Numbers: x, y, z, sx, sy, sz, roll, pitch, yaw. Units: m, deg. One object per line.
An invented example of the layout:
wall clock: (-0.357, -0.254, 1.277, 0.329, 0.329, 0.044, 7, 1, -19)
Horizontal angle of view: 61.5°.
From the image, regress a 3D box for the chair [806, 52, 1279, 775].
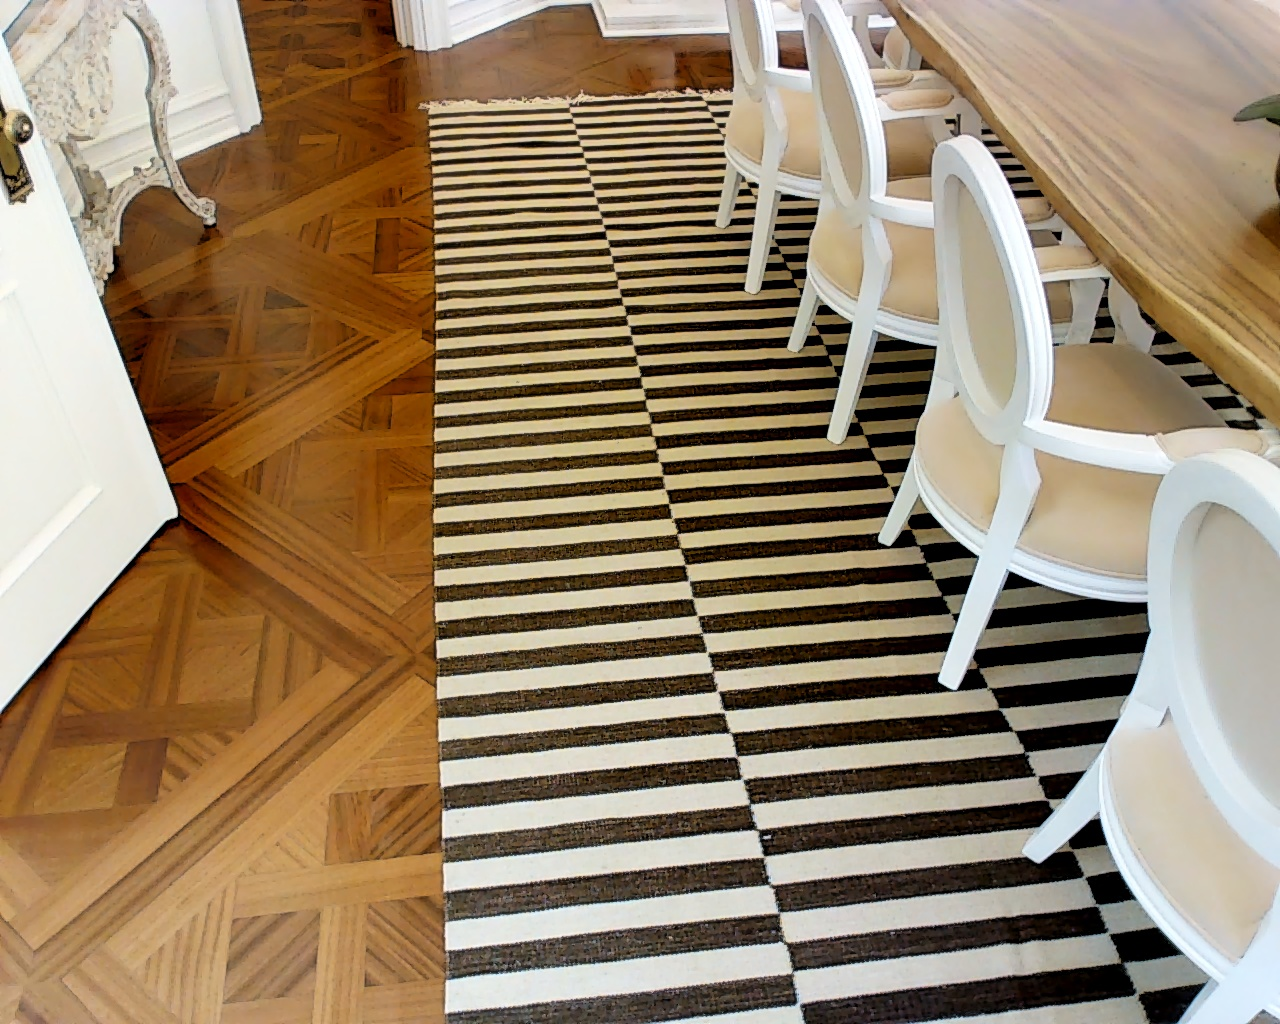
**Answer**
chair: (0.810, -0.170, 1.960, 0.710, 1.010, 0.710, -8, 43, -9)

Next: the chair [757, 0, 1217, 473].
chair: (0.690, -0.690, 2.480, 0.650, 1.040, 0.550, -5, 43, -6)

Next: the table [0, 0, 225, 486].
table: (-1.510, -0.830, 2.740, 0.480, 0.890, 1.290, -5, 43, -6)
